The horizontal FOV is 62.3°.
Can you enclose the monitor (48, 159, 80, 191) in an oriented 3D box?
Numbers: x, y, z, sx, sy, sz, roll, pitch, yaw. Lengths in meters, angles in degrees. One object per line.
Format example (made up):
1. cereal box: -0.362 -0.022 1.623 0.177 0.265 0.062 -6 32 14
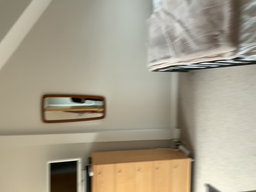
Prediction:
1. monitor: -0.750 1.070 2.520 0.050 0.330 0.590 -177 82 -77
